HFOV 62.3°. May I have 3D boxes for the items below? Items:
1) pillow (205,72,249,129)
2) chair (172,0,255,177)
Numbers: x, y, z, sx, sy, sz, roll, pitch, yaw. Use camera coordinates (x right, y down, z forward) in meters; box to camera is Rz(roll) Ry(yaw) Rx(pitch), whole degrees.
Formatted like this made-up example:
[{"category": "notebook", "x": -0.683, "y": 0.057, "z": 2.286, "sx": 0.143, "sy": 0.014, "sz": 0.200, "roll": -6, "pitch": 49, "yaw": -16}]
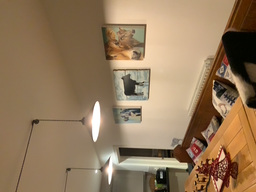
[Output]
[{"category": "pillow", "x": 1.020, "y": 0.060, "z": 2.260, "sx": 0.550, "sy": 0.200, "sz": 0.350, "roll": 87, "pitch": -175, "yaw": -53}, {"category": "chair", "x": 1.200, "y": 0.200, "z": 2.520, "sx": 2.990, "sy": 0.900, "sz": 0.610, "roll": 87, "pitch": -175, "yaw": -53}]
